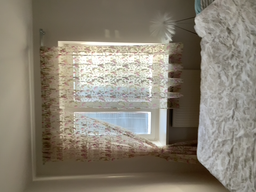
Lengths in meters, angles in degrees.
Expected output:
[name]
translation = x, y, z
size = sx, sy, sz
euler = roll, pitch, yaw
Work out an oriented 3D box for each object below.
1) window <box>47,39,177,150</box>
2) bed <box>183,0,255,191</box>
[window]
translation = -0.220, -0.010, 3.090
size = 0.330, 1.750, 1.500
euler = -134, 45, -83
[bed]
translation = 1.110, -0.230, 1.840
size = 1.830, 0.560, 2.250
euler = -141, 52, -84
